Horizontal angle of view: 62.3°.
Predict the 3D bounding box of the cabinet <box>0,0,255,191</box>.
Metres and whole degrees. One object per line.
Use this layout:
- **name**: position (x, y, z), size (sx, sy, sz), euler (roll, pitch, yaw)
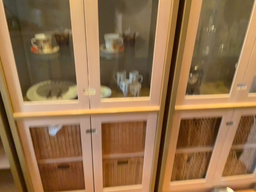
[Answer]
- **cabinet**: position (0.200, -0.210, 1.340), size (1.810, 2.100, 0.440), euler (-2, 28, -9)
